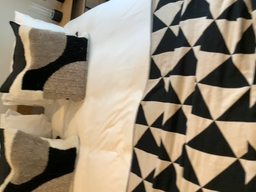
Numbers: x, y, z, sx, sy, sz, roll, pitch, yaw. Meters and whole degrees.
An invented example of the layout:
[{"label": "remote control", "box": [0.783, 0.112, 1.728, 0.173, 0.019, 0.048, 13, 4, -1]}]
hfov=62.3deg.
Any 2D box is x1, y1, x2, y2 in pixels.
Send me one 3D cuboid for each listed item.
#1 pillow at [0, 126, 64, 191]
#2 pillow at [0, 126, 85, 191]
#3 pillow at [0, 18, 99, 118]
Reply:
[{"label": "pillow", "box": [-0.690, 0.480, 1.430, 0.220, 0.400, 0.480, -4, 91, 48]}, {"label": "pillow", "box": [-0.520, 0.470, 1.250, 0.210, 0.390, 0.470, -5, 100, 48]}, {"label": "pillow", "box": [-0.530, -0.190, 1.370, 0.320, 0.480, 0.510, -1, 105, 48]}]
